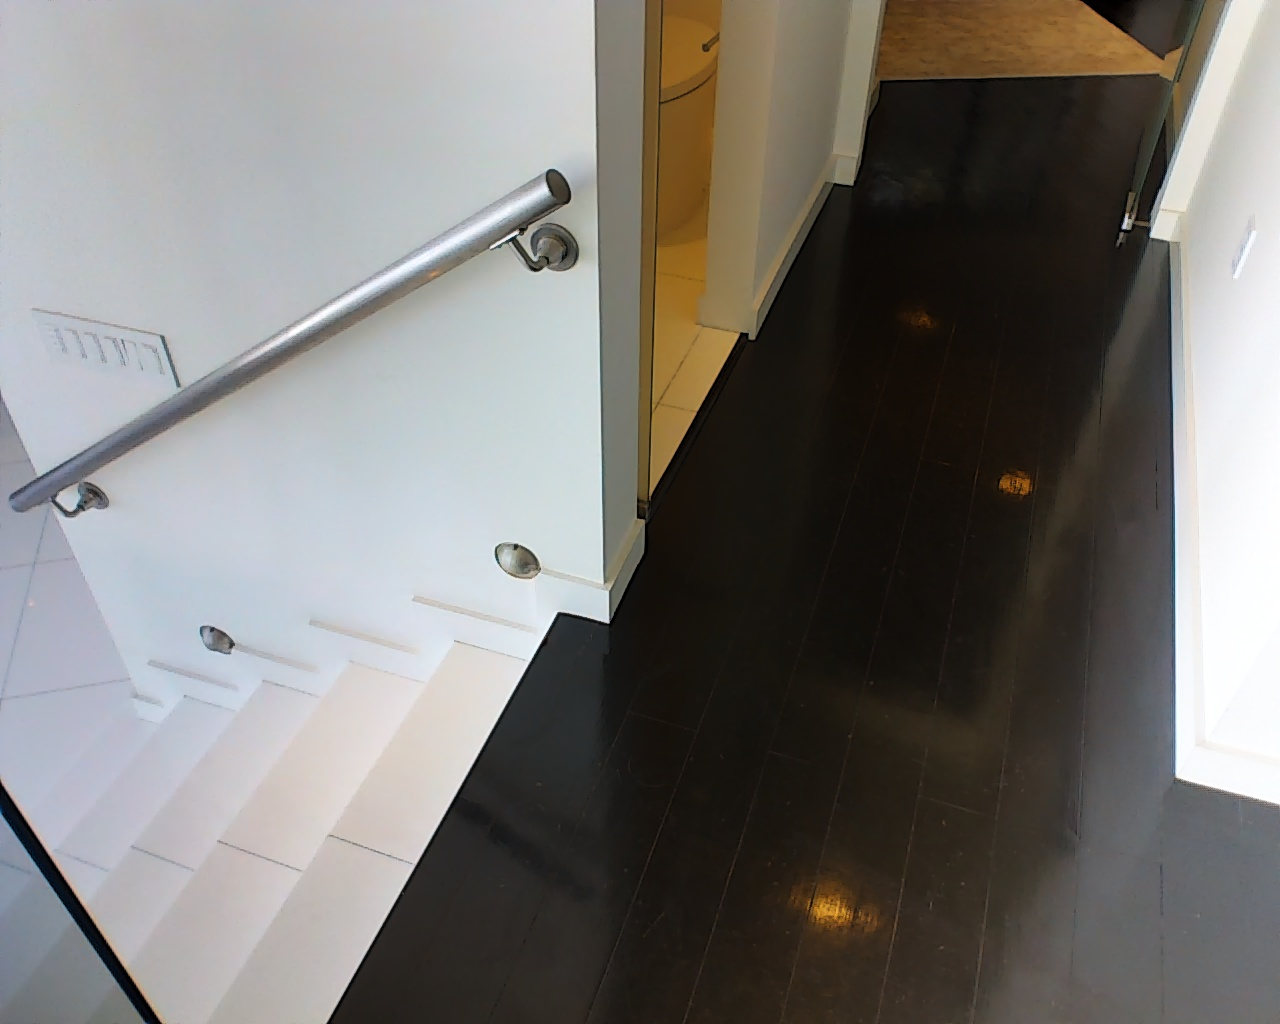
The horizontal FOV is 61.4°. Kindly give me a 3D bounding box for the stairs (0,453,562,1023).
[{"bbox_3d":[-1.020,0.750,2.280,1.350,1.030,1.120,13,43,14],"label":"stairs"}]

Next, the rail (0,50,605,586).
[{"bbox_3d":[-0.550,-0.320,1.910,0.980,0.800,0.150,14,43,14],"label":"rail"}]
